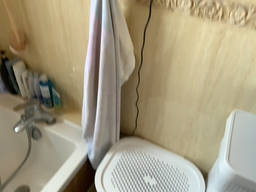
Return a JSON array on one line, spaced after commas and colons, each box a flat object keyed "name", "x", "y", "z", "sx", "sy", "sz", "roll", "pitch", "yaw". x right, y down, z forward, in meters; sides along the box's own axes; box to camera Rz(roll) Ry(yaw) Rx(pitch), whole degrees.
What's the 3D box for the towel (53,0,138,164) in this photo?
[{"name": "towel", "x": -0.120, "y": -0.070, "z": 0.840, "sx": 0.200, "sy": 0.840, "sz": 0.160, "roll": 22, "pitch": 43, "yaw": 17}]
